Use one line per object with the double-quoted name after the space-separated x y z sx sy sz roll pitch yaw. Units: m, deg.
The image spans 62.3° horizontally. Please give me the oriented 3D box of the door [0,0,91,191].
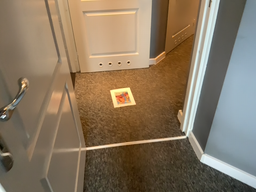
-0.300 -0.140 0.780 0.060 1.820 0.800 -3 37 -3 "door"
